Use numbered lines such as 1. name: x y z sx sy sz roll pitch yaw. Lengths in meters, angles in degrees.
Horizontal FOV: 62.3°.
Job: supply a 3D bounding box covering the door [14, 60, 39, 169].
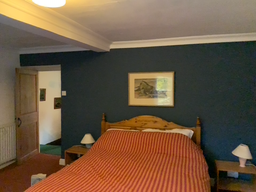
1. door: -2.070 0.350 4.380 0.070 2.080 0.690 1 3 7
